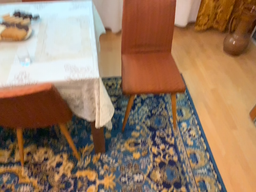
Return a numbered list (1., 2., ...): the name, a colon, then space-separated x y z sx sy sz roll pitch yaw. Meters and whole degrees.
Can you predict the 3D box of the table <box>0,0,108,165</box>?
1. table: -0.870 -0.110 1.480 1.350 0.760 0.880 -5 49 -7
